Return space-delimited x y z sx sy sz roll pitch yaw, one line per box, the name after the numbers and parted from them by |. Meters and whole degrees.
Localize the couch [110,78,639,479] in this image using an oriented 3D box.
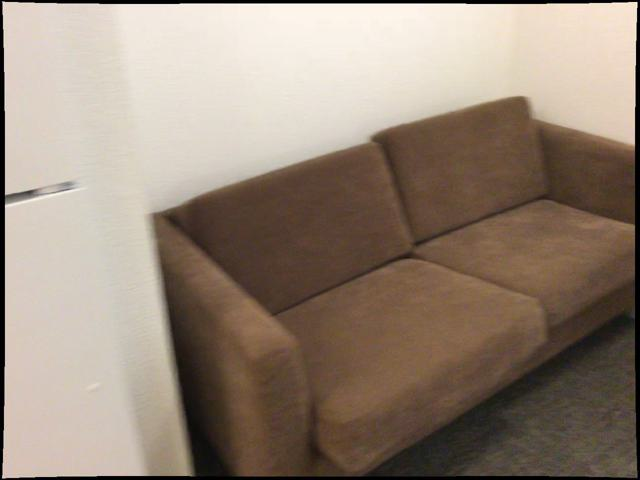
0.389 0.050 1.890 1.747 0.681 0.940 -20 33 -26 | couch
